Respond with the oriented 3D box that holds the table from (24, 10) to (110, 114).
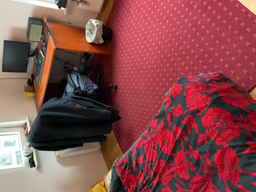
[{"bbox_3d":[-0.950,-0.420,3.070,0.690,0.780,1.220,60,136,32],"label":"table"}]
